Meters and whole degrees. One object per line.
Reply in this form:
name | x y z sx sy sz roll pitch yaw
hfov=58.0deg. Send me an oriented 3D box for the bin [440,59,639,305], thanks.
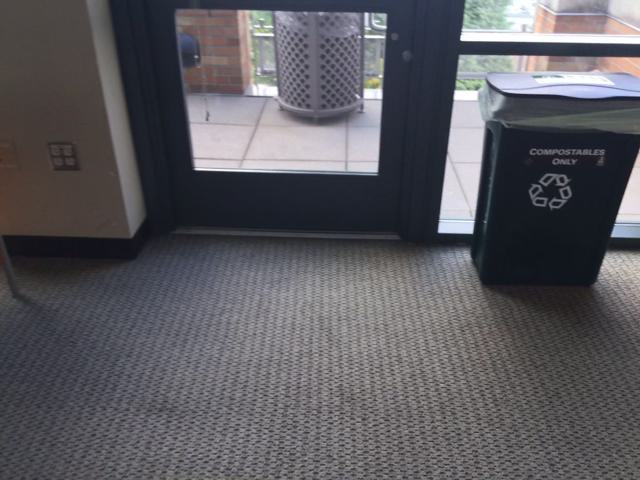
bin | 0.800 -0.210 2.110 0.610 0.790 0.350 4 29 6
